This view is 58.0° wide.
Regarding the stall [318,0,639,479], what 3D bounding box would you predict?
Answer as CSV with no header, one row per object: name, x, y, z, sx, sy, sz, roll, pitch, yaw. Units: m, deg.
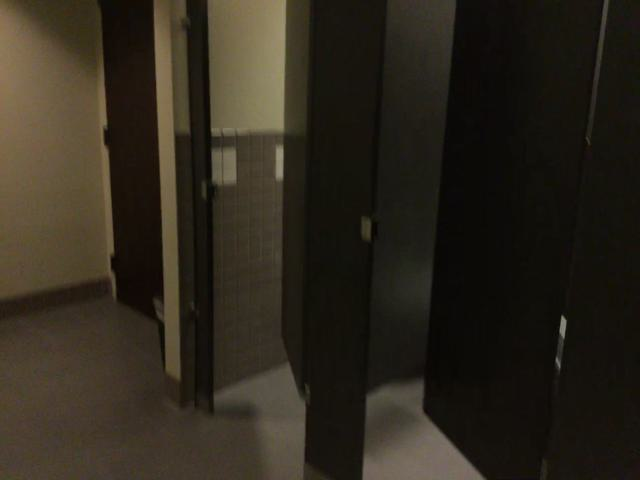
stall,0.500,-0.080,1.790,0.620,2.030,0.730,-10,17,-44

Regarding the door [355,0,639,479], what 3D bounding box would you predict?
door,0.610,0.010,1.490,0.340,2.070,0.990,-10,17,-44
